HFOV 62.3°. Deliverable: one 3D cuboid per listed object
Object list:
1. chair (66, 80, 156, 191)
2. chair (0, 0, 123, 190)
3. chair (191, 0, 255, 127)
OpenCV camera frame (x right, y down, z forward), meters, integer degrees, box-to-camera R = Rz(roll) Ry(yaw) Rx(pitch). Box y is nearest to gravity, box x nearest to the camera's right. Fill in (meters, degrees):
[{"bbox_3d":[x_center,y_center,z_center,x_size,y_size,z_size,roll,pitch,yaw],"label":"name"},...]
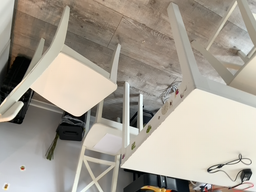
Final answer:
[{"bbox_3d":[-0.160,0.450,1.800,0.470,0.920,0.580,19,135,-20],"label":"chair"},{"bbox_3d":[-0.400,-0.050,1.240,0.490,0.910,0.550,-34,129,31],"label":"chair"},{"bbox_3d":[0.720,-0.250,1.160,0.430,0.740,0.420,13,136,-15],"label":"chair"}]
